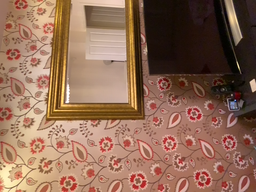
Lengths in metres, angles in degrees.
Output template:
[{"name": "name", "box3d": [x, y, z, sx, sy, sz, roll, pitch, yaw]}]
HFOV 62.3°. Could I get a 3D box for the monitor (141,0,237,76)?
[{"name": "monitor", "box3d": [0.480, -0.750, 1.850, 0.090, 0.710, 1.200, 110, 159, -70]}]
